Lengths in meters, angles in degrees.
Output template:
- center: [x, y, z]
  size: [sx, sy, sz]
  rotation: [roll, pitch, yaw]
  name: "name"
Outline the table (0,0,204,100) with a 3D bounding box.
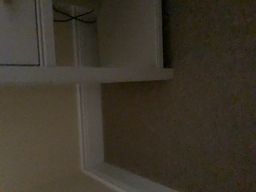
- center: [-0.090, -0.220, 0.820]
  size: [0.460, 0.660, 0.400]
  rotation: [1, 95, 47]
  name: "table"
